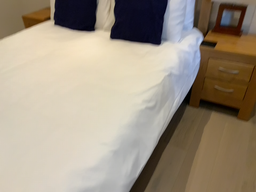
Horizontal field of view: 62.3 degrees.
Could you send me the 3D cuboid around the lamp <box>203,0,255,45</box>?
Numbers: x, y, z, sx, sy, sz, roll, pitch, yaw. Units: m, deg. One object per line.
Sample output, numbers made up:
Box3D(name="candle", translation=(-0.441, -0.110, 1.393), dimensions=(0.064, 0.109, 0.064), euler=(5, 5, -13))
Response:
Box3D(name="lamp", translation=(0.780, -0.660, 1.590), dimensions=(0.290, 0.460, 0.190), euler=(18, 40, 24))
